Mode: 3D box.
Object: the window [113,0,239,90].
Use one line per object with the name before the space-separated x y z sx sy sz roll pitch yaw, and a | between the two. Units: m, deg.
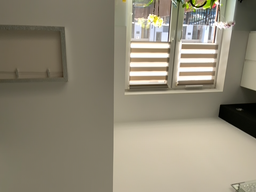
window | 0.640 -0.740 2.900 1.650 1.290 0.160 -1 -164 -12
